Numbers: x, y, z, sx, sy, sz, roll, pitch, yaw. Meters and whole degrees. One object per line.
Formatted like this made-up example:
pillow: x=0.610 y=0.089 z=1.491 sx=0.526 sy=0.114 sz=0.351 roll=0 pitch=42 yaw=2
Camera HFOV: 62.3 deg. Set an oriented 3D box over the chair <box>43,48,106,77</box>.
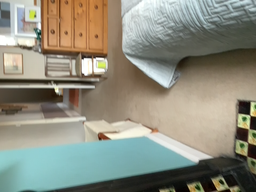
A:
chair: x=-0.880 y=-0.520 z=3.480 sx=0.460 sy=0.920 sz=0.390 roll=-170 pitch=81 yaw=-65
